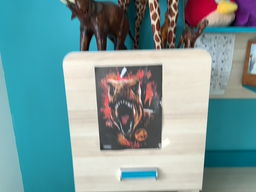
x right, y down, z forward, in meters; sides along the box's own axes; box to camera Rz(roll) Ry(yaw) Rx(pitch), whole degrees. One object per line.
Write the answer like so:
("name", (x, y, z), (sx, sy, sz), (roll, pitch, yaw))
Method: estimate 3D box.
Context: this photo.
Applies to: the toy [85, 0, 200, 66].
("toy", (0.040, -0.480, 0.660), (0.270, 0.710, 0.450), (0, 16, 2))
